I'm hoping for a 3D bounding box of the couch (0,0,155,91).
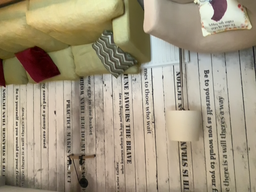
[{"bbox_3d":[-1.170,-0.600,2.670,2.770,0.790,1.170,-4,176,22],"label":"couch"}]

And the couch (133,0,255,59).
[{"bbox_3d":[0.630,-0.770,1.560,0.880,0.730,0.810,1,175,-34],"label":"couch"}]
